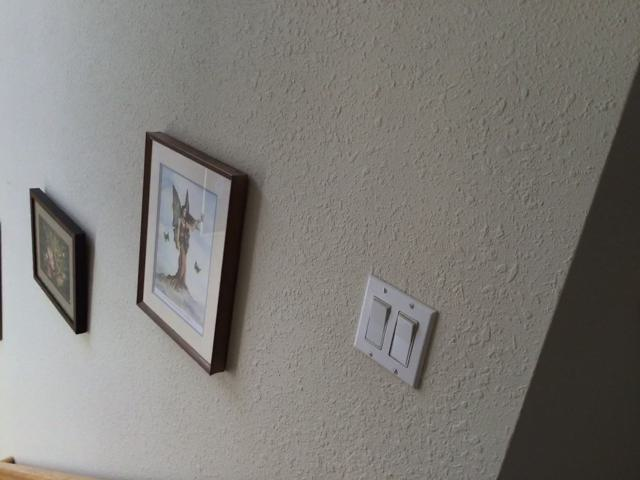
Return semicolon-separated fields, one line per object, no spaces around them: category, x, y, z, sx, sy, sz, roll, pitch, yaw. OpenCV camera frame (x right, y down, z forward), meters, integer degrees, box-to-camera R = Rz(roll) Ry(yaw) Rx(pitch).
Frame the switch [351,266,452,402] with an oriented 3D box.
switch;0.100;0.120;0.750;0.020;0.130;0.130;-18;35;-38

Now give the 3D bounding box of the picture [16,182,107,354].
picture;-0.750;0.070;1.670;0.070;0.350;0.410;-18;35;-38

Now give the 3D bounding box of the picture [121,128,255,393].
picture;-0.260;0.030;1.110;0.070;0.400;0.340;-18;35;-38
